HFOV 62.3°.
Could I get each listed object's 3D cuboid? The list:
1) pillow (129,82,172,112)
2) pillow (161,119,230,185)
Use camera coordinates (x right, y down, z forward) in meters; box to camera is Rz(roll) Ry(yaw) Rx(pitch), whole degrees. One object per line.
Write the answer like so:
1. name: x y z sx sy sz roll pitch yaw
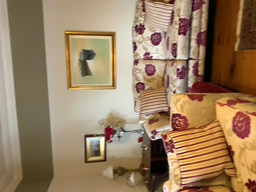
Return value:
1. pillow: 0.310 0.000 3.010 0.390 0.450 0.170 57 139 35
2. pillow: 0.500 0.390 1.560 0.110 0.420 0.360 -47 57 47
